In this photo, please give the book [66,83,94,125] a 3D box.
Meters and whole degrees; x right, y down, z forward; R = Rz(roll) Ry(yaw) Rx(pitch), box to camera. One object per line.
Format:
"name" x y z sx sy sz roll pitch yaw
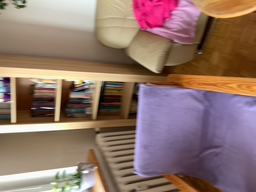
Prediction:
"book" -0.500 0.070 2.190 0.230 0.230 0.400 -170 81 -65
